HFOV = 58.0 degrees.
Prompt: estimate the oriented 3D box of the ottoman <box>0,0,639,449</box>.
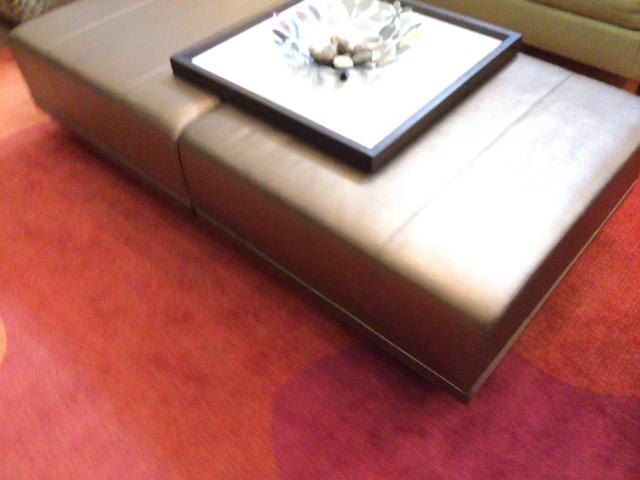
[{"bbox_3d":[-0.070,-0.380,1.790,1.780,0.490,0.930,34,56,25],"label":"ottoman"}]
